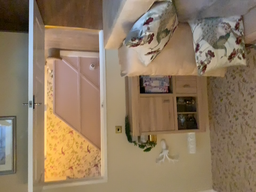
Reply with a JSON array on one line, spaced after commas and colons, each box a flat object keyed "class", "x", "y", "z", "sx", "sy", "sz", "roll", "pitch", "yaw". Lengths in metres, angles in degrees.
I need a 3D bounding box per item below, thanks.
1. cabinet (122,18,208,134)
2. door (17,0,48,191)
[{"class": "cabinet", "x": 0.500, "y": -0.250, "z": 2.920, "sx": 1.070, "sy": 1.440, "sz": 0.330, "roll": -1, "pitch": 176, "yaw": -17}, {"class": "door", "x": -0.980, "y": -0.020, "z": 2.250, "sx": 0.160, "sy": 1.840, "sz": 1.000, "roll": -1, "pitch": 176, "yaw": -17}]
